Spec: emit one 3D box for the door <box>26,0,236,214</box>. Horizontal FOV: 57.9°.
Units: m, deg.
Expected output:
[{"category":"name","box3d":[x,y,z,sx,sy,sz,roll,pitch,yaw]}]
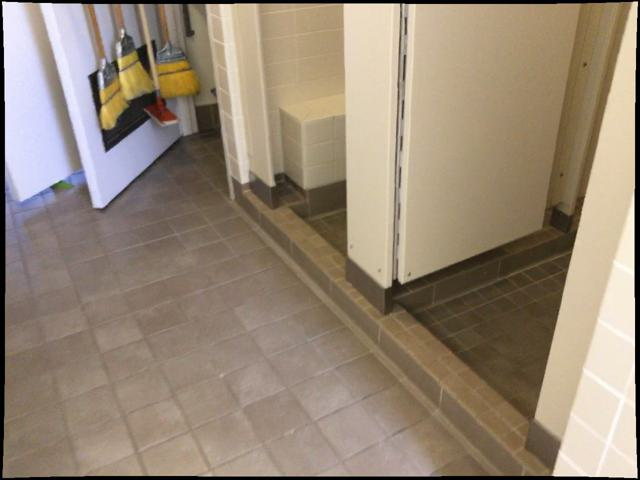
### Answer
[{"category":"door","box3d":[-0.949,-1.221,2.560,0.690,1.981,0.730,-18,35,-22]}]
